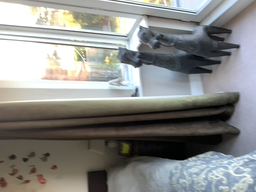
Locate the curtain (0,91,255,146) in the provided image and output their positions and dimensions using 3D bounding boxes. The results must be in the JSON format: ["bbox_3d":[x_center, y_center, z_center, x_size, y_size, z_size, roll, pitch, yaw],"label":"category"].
[{"bbox_3d":[-0.040,0.180,1.700,0.450,2.200,0.290,139,129,-65],"label":"curtain"}]
